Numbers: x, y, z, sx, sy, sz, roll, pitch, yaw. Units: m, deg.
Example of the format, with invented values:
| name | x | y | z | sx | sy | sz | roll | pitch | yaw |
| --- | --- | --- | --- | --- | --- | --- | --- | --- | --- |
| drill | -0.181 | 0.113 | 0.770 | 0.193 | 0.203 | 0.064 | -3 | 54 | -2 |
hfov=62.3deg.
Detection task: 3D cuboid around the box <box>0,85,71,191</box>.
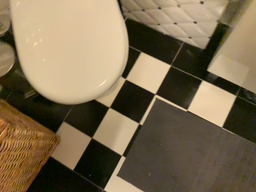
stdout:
| name | x | y | z | sx | sy | sz | roll | pitch | yaw |
| --- | --- | --- | --- | --- | --- | --- | --- | --- | --- |
| box | -0.570 | 0.120 | 0.810 | 0.440 | 0.490 | 0.330 | 26 | 79 | 11 |
